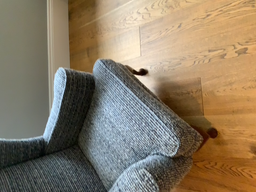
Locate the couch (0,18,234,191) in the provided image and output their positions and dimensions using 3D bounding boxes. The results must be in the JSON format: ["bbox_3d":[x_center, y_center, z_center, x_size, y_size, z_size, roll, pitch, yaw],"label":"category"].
[{"bbox_3d":[-0.250,0.300,1.090,0.830,1.060,0.880,47,117,31],"label":"couch"}]
